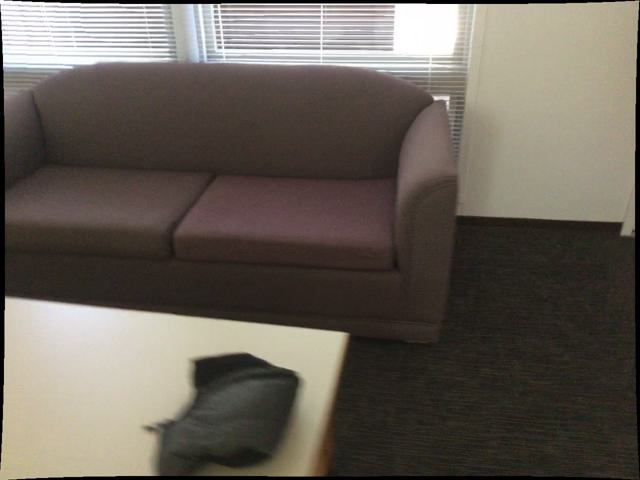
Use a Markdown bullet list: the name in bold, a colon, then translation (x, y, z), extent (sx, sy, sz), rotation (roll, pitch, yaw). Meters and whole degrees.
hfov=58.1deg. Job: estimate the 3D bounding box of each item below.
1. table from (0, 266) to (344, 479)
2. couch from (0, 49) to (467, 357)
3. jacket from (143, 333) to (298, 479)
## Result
- **table**: translation (-0.519, 0.461, 1.310), extent (1.098, 0.511, 0.620), rotation (3, 32, 6)
- **couch**: translation (-0.439, -0.220, 2.230), extent (1.797, 0.771, 0.930), rotation (3, 32, 6)
- **jacket**: translation (-0.170, 0.311, 1.080), extent (0.220, 0.130, 0.240), rotation (3, 32, 6)
